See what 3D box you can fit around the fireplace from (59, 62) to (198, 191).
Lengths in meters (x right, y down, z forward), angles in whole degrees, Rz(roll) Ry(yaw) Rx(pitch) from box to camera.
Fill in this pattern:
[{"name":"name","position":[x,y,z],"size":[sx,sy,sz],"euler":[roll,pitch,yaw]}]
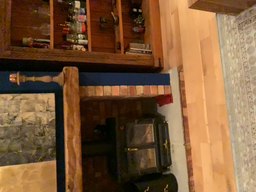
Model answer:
[{"name":"fireplace","position":[-0.060,0.600,2.470],"size":[0.950,1.290,1.770],"euler":[171,97,-68]}]

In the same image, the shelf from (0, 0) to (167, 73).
[{"name":"shelf","position":[-0.580,-1.000,2.680],"size":[0.560,2.020,1.300],"euler":[162,105,-67]}]
